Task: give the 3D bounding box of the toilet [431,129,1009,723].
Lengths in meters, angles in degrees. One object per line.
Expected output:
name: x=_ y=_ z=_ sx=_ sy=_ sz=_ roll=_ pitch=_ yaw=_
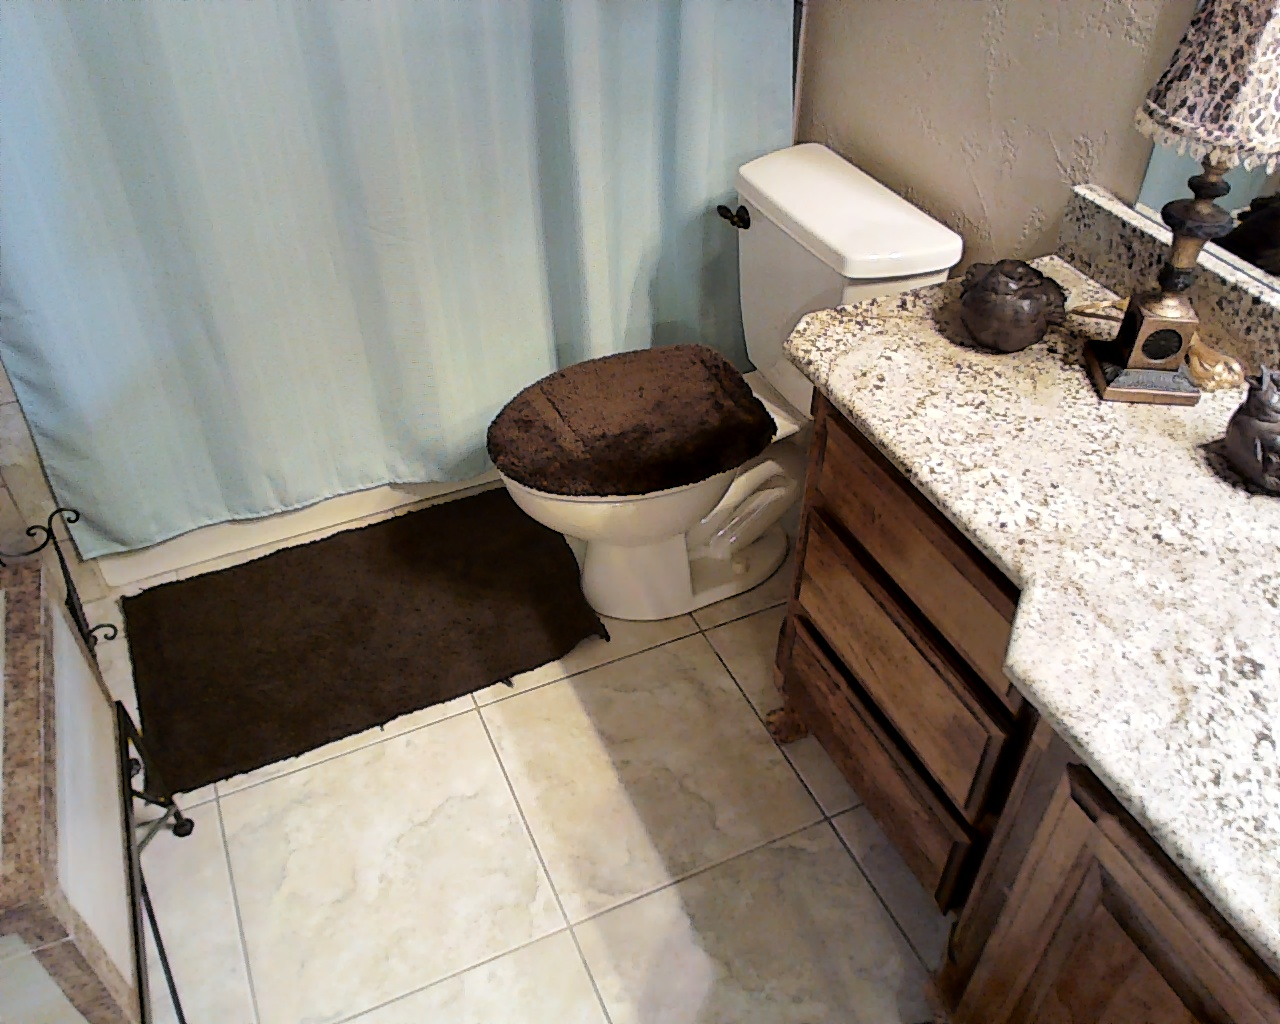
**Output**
toilet: x=0.120 y=-0.170 z=2.000 sx=0.800 sy=0.800 sz=0.500 roll=-16 pitch=42 yaw=-17
